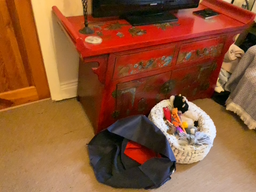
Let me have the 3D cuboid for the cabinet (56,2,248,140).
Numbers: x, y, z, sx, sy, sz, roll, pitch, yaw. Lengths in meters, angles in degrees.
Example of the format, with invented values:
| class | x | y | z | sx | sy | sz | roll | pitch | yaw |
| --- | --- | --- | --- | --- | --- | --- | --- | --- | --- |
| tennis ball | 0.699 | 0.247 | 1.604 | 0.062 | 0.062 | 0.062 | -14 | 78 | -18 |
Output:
| class | x | y | z | sx | sy | sz | roll | pitch | yaw |
| --- | --- | --- | --- | --- | --- | --- | --- | --- | --- |
| cabinet | 0.170 | -0.250 | 1.570 | 1.180 | 0.640 | 0.480 | -16 | 44 | -25 |
